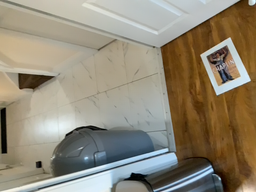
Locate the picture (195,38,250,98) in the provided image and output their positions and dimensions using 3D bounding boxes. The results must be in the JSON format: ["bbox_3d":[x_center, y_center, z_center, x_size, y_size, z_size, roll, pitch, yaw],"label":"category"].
[{"bbox_3d":[0.570,-0.170,1.310,0.220,0.010,0.300,-33,66,38],"label":"picture"}]
